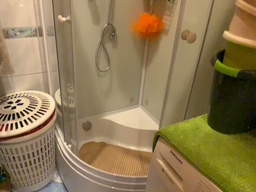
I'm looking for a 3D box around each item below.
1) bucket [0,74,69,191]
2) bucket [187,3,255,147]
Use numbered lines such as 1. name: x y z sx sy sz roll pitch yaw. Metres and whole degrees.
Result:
1. bucket: -0.730 0.280 1.440 0.470 0.680 0.450 -14 34 -30
2. bucket: 0.530 -0.110 0.860 0.450 0.460 0.230 -13 33 -29
